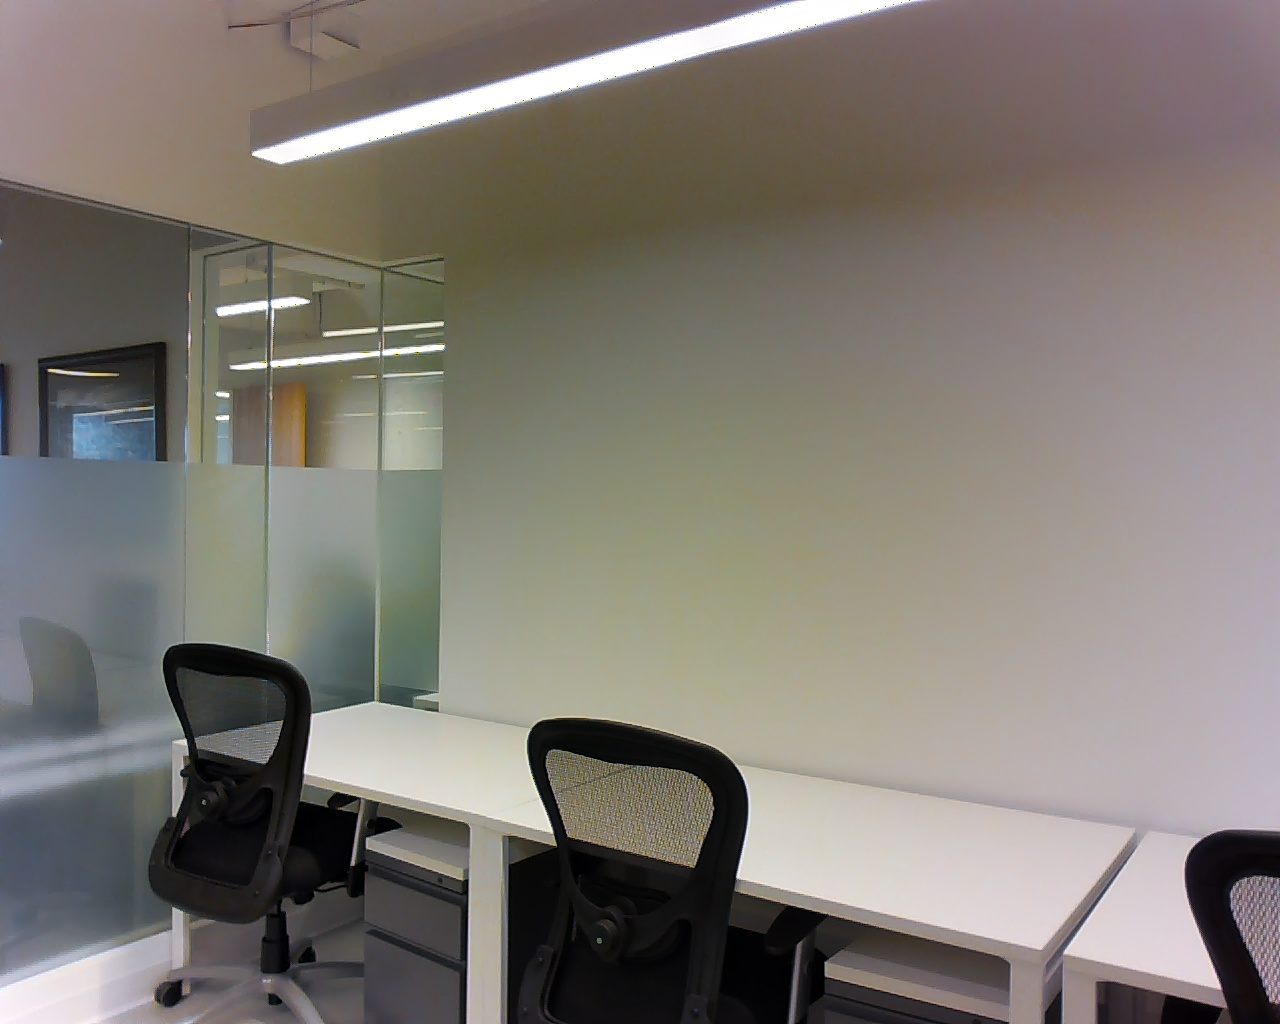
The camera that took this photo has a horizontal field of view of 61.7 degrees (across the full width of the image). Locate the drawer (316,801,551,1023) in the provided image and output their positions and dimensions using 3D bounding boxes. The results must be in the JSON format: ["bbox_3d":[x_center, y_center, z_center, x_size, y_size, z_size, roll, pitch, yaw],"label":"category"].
[{"bbox_3d":[-0.530,1.120,2.740,0.510,0.610,0.320,1,0,34],"label":"drawer"}]

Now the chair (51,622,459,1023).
[{"bbox_3d":[-1.060,0.890,2.950,0.920,1.060,0.630,1,0,34],"label":"chair"}]

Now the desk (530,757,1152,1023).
[{"bbox_3d":[0.440,1.060,2.320,1.090,0.760,0.800,1,0,34],"label":"desk"}]

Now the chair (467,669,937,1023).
[{"bbox_3d":[0.140,0.920,2.230,0.630,1.040,0.760,1,0,43],"label":"chair"}]

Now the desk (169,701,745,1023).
[{"bbox_3d":[-0.530,1.040,3.000,1.440,0.760,0.770,1,0,33],"label":"desk"}]
